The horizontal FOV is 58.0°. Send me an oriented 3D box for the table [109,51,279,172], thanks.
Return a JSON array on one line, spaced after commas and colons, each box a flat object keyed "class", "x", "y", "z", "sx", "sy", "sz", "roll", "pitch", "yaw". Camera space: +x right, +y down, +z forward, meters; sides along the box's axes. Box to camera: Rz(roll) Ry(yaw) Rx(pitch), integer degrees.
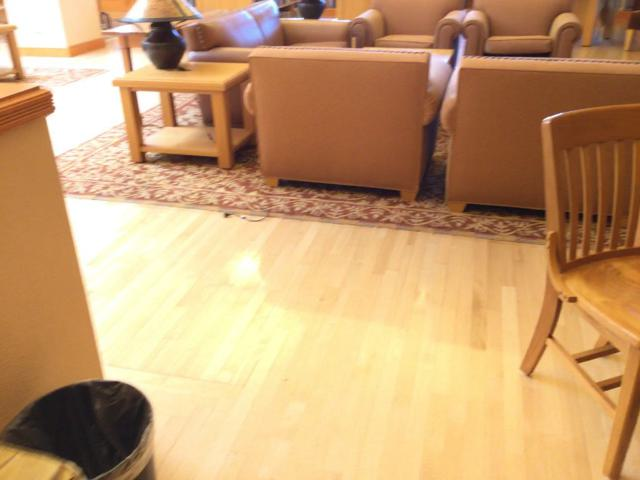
[{"class": "table", "x": -0.760, "y": -0.860, "z": 3.730, "sx": 0.730, "sy": 0.550, "sz": 0.790, "roll": 5, "pitch": 29, "yaw": 14}]
